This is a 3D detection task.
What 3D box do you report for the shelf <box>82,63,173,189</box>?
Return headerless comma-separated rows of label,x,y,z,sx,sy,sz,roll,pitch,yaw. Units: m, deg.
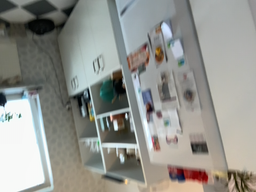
shelf,-0.070,0.290,2.200,0.370,1.030,0.850,-10,175,-32
